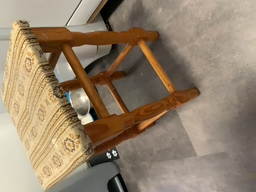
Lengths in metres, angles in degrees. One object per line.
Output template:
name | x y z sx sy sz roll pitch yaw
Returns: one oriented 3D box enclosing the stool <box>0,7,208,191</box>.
stool | -0.080 -0.010 0.620 0.300 0.460 0.330 -45 71 44
